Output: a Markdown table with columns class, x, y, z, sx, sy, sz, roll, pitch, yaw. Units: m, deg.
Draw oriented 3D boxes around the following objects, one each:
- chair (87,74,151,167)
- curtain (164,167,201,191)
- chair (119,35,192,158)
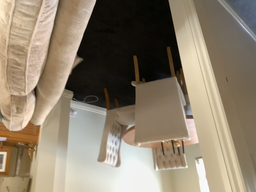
| class | x | y | z | sx | sy | sz | roll | pitch | yaw |
| --- | --- | --- | --- | --- | --- | --- | --- | --- | --- |
| chair | -0.120 | 0.340 | 2.810 | 0.640 | 1.030 | 0.530 | -11 | 152 | 14 |
| curtain | 1.000 | 1.980 | 3.640 | 0.100 | 1.360 | 0.670 | 18 | 146 | -37 |
| chair | 0.290 | 0.040 | 2.260 | 0.520 | 1.040 | 0.680 | -12 | 152 | 16 |
